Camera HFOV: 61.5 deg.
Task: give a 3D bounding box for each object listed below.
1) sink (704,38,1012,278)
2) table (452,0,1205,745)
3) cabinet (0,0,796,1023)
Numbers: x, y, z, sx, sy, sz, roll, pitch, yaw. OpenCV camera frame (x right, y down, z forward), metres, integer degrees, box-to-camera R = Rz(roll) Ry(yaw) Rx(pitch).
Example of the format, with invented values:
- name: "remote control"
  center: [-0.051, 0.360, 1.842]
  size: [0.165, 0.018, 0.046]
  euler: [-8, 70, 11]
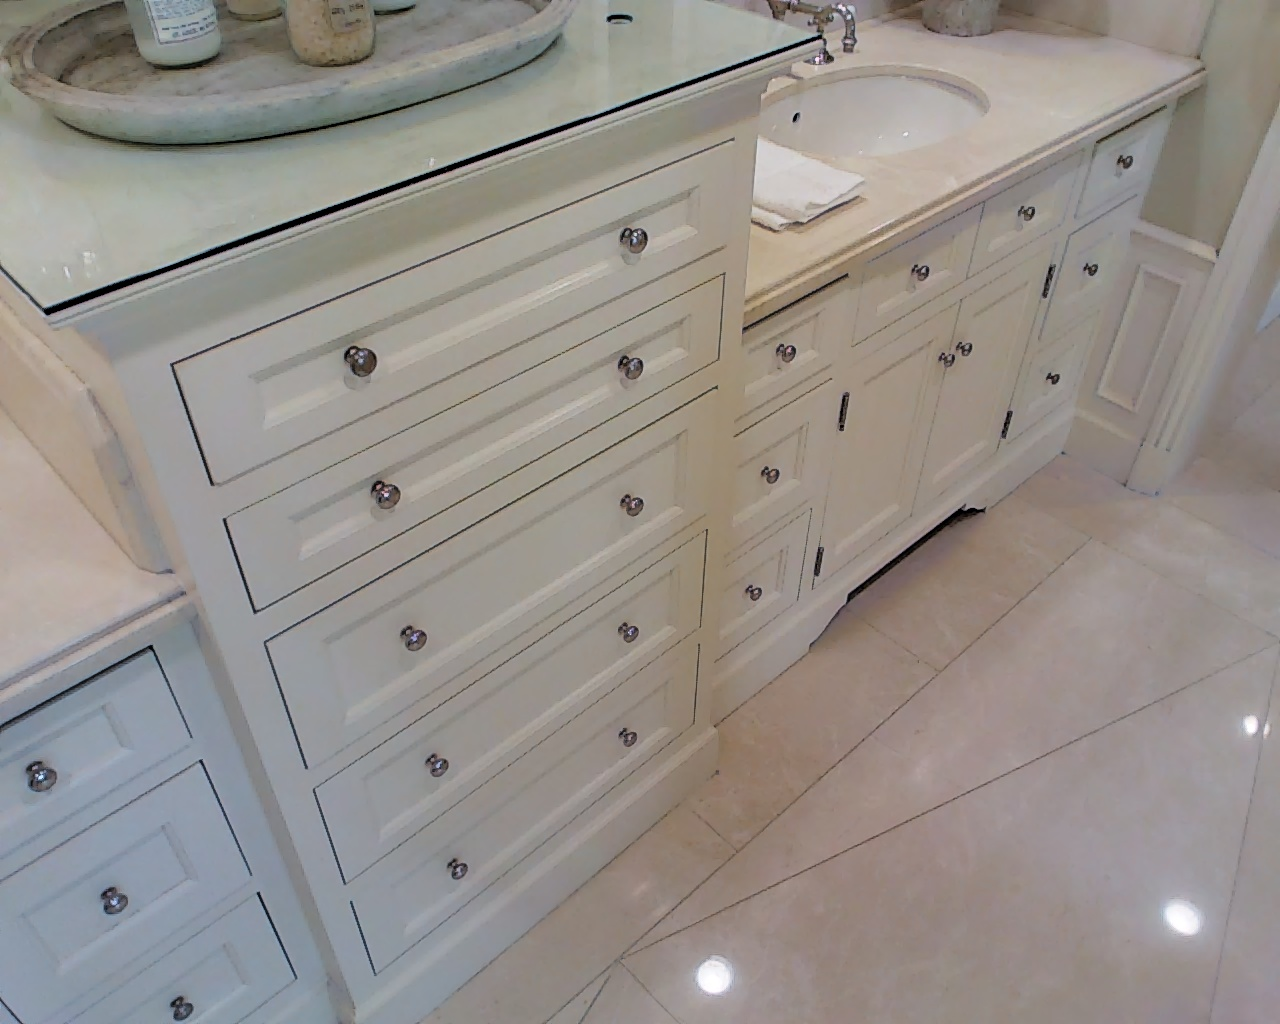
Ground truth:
- name: "sink"
  center: [0.370, -0.620, 1.840]
  size: [0.450, 0.200, 0.280]
  euler: [-33, 52, -32]
- name: "table"
  center: [0.370, -0.360, 2.070]
  size: [1.280, 0.950, 0.530]
  euler: [-32, 51, -31]
- name: "cabinet"
  center: [-0.320, -0.020, 1.450]
  size: [0.730, 1.250, 0.600]
  euler: [-33, 52, -32]
